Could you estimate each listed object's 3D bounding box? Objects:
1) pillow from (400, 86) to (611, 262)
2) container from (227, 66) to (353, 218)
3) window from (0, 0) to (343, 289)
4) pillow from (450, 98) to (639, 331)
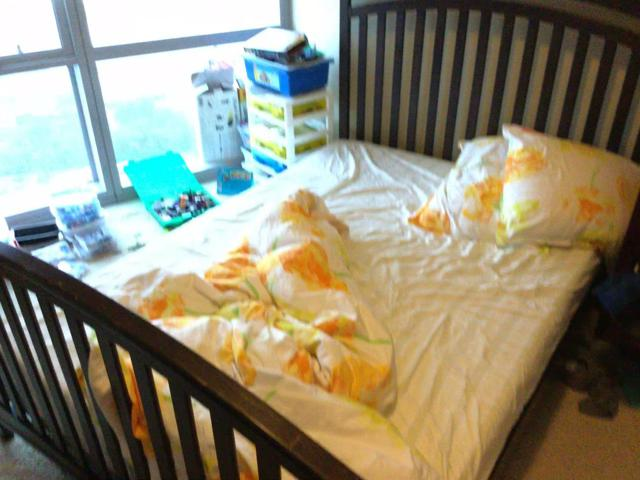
[{"bbox_3d":[0.700,-0.290,2.170,0.490,0.330,0.700,20,37,32],"label":"pillow"},{"bbox_3d":[-0.140,-0.520,2.970,0.460,0.590,0.410,26,41,38],"label":"container"},{"bbox_3d":[-1.070,-0.700,2.680,2.110,1.190,1.040,-18,34,-25],"label":"window"},{"bbox_3d":[0.880,-0.140,2.070,0.540,0.490,0.660,19,37,31],"label":"pillow"}]
